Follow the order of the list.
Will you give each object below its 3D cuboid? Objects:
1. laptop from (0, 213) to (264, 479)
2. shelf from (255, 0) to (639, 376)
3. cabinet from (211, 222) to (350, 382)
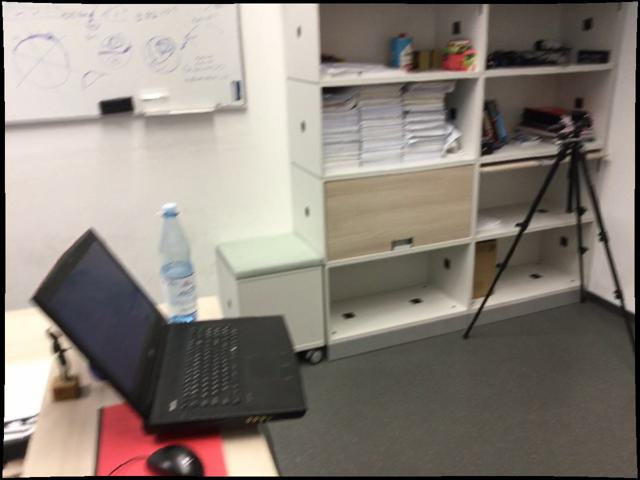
[{"bbox_3d":[-0.390,0.200,1.070,0.529,0.300,0.550,-5,21,-6],"label":"laptop"},{"bbox_3d":[0.629,-0.651,2.750,1.699,2.252,0.560,-10,22,-17],"label":"shelf"},{"bbox_3d":[-0.190,0.270,2.750,0.530,0.540,0.420,-10,22,-17],"label":"cabinet"}]
